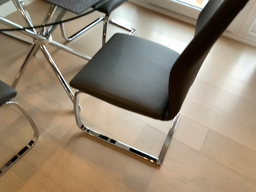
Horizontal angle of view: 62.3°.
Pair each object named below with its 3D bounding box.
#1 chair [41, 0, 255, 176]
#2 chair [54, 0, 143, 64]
[{"bbox_3d":[0.070,-0.150,0.960,0.580,1.030,0.460,23,52,13],"label":"chair"},{"bbox_3d":[-0.190,-0.850,1.500,0.440,1.030,0.540,28,54,16],"label":"chair"}]
